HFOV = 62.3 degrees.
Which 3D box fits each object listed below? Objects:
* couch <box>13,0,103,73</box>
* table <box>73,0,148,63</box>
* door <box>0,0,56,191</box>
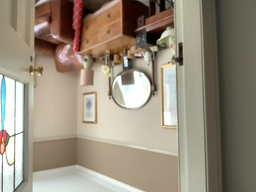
[{"bbox_3d":[-1.140,-0.910,3.530,1.020,0.840,1.010,-2,176,35],"label":"couch"},{"bbox_3d":[-0.280,-0.970,3.000,0.560,0.780,0.980,2,176,-43],"label":"table"},{"bbox_3d":[-0.470,-0.440,0.990,0.140,2.170,0.890,0,177,-12],"label":"door"}]
